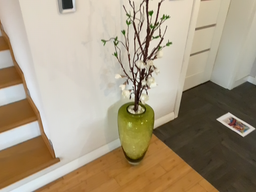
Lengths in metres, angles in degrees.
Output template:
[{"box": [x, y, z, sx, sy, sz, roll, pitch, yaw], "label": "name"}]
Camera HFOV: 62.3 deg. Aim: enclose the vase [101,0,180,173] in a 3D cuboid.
[{"box": [0.040, -0.060, 1.400, 0.290, 1.250, 0.310, -17, 38, -26], "label": "vase"}]
